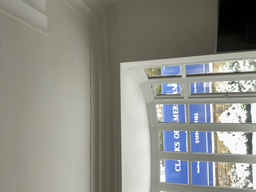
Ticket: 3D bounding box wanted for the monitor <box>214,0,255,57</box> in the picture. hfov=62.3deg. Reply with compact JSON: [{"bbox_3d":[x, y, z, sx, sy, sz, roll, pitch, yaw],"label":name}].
[{"bbox_3d":[1.010,-0.700,1.600,0.980,0.620,0.060,66,-153,-51],"label":"monitor"}]
